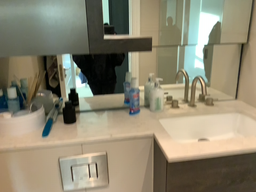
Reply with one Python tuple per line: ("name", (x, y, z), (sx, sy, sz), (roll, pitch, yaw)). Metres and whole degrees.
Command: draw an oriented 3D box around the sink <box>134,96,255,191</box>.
("sink", (0.380, 0.190, 1.040), (0.610, 0.190, 0.530), (-4, 18, -9))
